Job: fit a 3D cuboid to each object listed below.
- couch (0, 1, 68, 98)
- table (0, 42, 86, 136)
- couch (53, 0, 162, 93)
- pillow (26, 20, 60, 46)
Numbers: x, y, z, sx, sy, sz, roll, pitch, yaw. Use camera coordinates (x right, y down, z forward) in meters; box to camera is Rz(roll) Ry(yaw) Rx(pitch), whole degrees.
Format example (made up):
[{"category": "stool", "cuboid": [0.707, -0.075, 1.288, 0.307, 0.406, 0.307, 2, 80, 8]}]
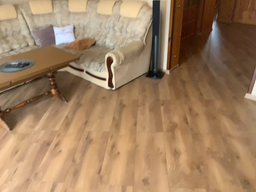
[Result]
[{"category": "couch", "cuboid": [-2.090, -0.670, 3.060, 1.230, 0.990, 1.850, 25, 40, 36]}, {"category": "table", "cuboid": [-1.240, -0.150, 2.550, 0.680, 0.600, 1.190, 26, 41, 38]}, {"category": "couch", "cuboid": [-0.290, -0.870, 3.300, 1.190, 0.990, 1.040, 25, 40, 36]}, {"category": "pillow", "cuboid": [-1.490, -1.110, 3.740, 0.450, 0.350, 0.220, -8, 66, -2]}]
